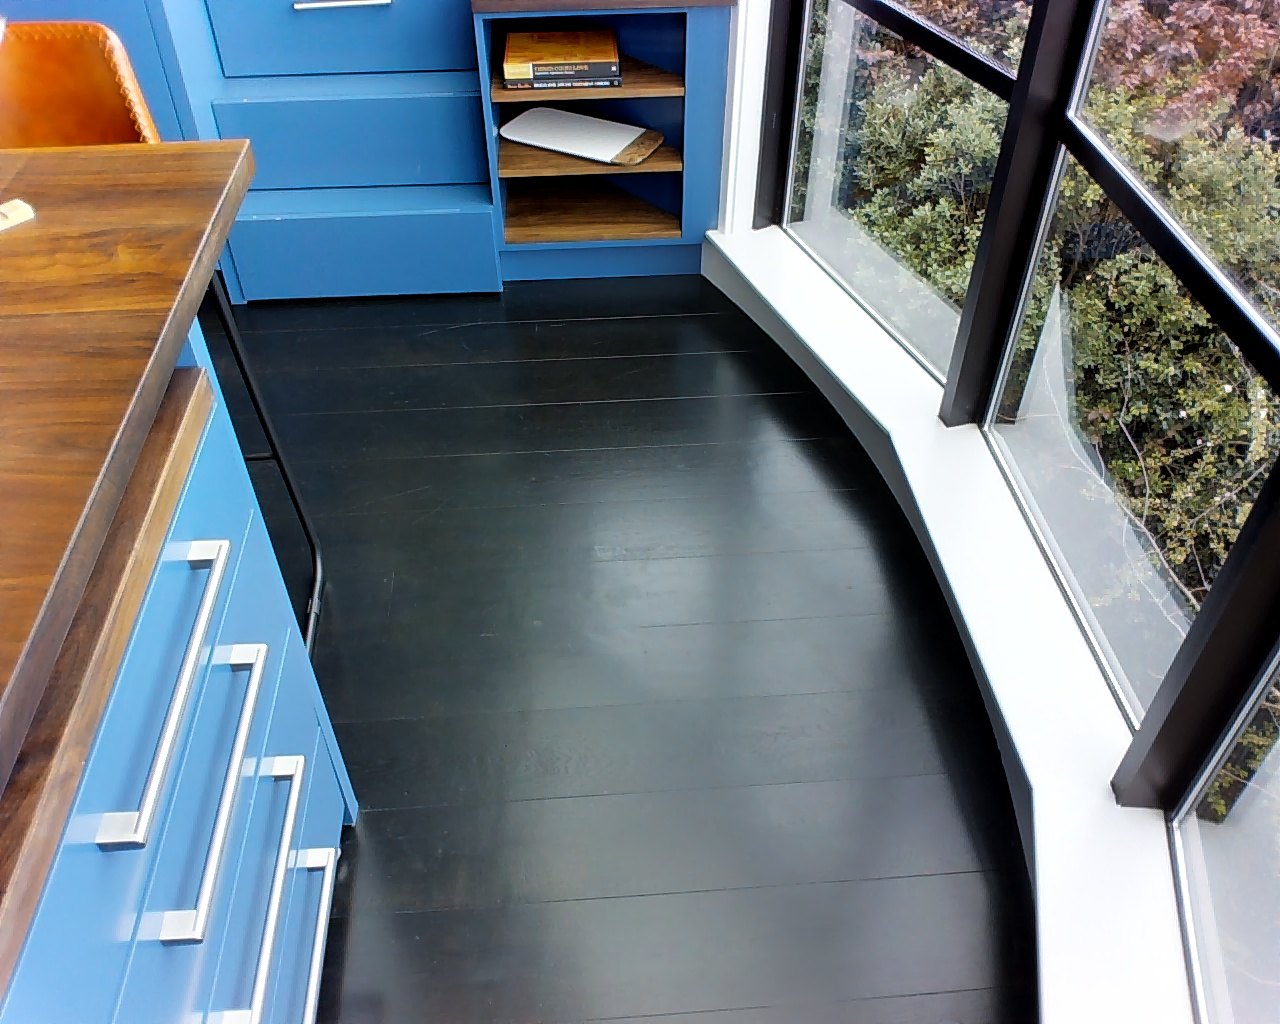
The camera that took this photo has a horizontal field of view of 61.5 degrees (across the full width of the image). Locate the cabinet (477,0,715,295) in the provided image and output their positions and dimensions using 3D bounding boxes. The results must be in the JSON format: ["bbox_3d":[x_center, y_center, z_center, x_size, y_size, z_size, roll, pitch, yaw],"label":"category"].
[{"bbox_3d":[-0.120,-1.070,2.870,0.540,0.780,0.520,-3,43,-4],"label":"cabinet"}]
